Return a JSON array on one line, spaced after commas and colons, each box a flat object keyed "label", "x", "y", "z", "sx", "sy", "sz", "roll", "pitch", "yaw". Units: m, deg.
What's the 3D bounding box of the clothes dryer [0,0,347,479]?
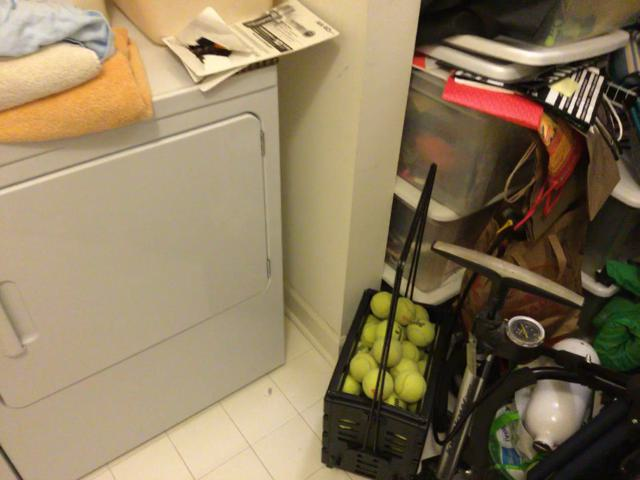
[{"label": "clothes dryer", "x": -0.490, "y": -0.130, "z": 1.280, "sx": 0.810, "sy": 1.150, "sz": 0.680, "roll": -27, "pitch": 48, "yaw": -28}]

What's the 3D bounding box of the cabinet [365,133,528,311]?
[{"label": "cabinet", "x": 0.300, "y": -0.050, "z": 1.430, "sx": 0.280, "sy": 0.290, "sz": 0.220, "roll": -26, "pitch": 48, "yaw": -28}]

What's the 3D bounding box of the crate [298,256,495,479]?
[{"label": "crate", "x": 0.180, "y": 0.340, "z": 1.380, "sx": 0.330, "sy": 0.360, "sz": 0.400, "roll": 16, "pitch": 43, "yaw": 16}]

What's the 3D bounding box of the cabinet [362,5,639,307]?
[{"label": "cabinet", "x": 0.360, "y": -0.190, "z": 1.240, "sx": 0.410, "sy": 0.450, "sz": 0.300, "roll": -26, "pitch": 48, "yaw": -28}]
